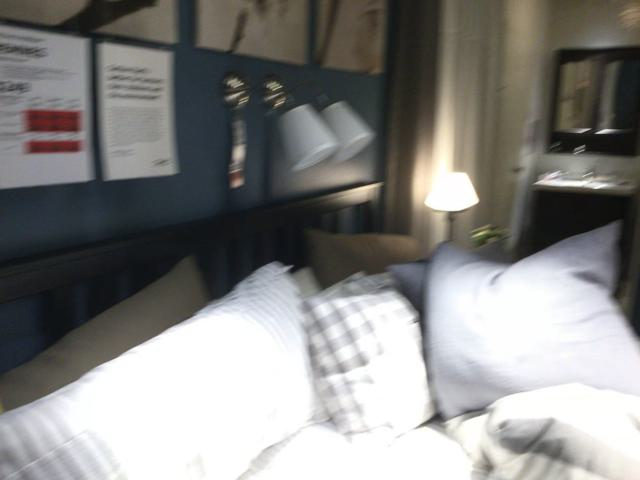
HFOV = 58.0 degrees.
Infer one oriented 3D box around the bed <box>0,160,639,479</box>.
[{"bbox_3d":[0.660,0.510,1.430,2.430,1.080,2.360,8,17,35],"label":"bed"}]
